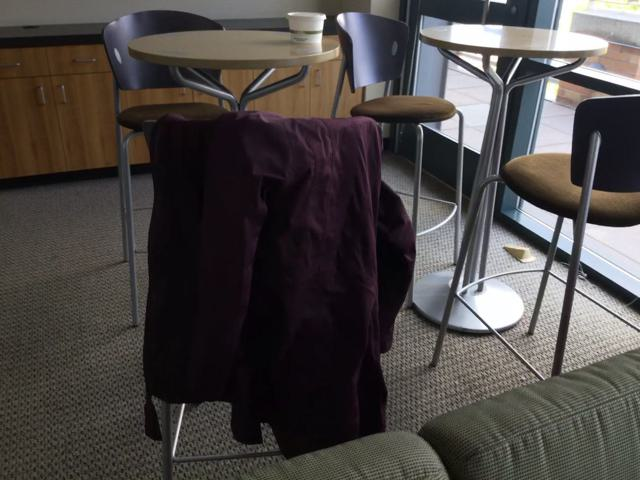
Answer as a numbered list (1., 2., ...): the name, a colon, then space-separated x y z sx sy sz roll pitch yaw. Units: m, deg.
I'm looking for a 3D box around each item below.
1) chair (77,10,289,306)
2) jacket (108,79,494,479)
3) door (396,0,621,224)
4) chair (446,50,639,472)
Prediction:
1. chair: -0.490 -0.350 2.260 0.620 1.010 0.530 -6 22 -11
2. jacket: -0.040 0.160 1.200 0.610 0.890 0.340 -10 23 -20
3. door: 0.890 -1.290 3.010 0.400 2.150 1.280 -9 17 -20
4. chair: 0.740 0.010 1.670 0.480 0.990 0.590 -13 24 -19
